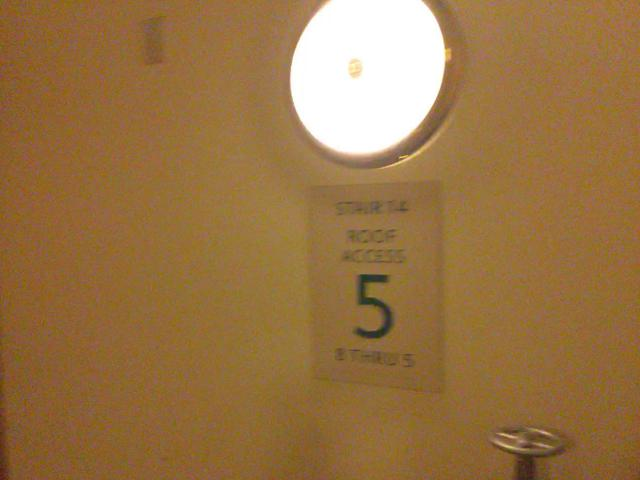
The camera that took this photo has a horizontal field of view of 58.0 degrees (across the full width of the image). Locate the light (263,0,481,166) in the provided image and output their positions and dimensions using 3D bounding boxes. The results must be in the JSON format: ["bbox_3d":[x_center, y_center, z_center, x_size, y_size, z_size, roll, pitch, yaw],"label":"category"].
[{"bbox_3d":[0.100,-0.340,1.200,0.390,0.300,0.090,14,11,18],"label":"light"}]
